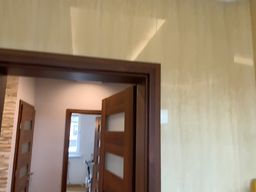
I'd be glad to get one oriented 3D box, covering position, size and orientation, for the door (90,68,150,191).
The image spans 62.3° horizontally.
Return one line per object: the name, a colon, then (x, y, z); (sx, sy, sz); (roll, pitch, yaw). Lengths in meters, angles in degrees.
door: (-0.120, 0.980, 1.450); (0.080, 2.170, 0.920); (5, -10, -23)
